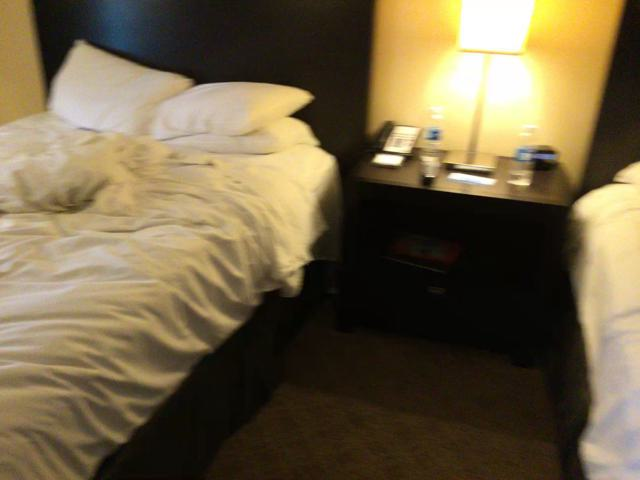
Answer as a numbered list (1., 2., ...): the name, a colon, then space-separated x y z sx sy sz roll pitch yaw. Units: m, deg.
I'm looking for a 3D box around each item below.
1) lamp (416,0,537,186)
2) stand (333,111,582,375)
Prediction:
1. lamp: 0.570 -0.590 2.090 0.310 0.680 0.350 10 25 17
2. stand: 0.510 -0.030 2.250 0.760 0.770 0.530 10 25 17
